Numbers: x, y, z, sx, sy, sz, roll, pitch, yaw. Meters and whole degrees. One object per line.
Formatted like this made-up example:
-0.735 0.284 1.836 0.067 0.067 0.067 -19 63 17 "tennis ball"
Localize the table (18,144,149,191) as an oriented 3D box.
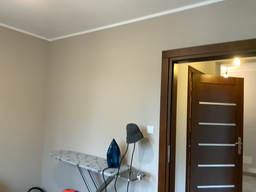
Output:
-0.630 1.170 2.560 1.700 0.880 0.460 1 -4 34 "table"
